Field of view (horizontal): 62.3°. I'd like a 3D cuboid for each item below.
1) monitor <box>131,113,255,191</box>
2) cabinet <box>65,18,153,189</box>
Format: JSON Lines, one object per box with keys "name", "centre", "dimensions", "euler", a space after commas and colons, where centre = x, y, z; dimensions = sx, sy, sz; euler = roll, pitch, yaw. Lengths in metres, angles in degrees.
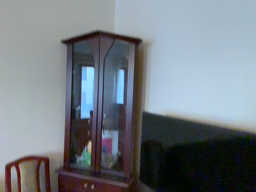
{"name": "monitor", "centre": [0.320, 0.470, 1.310], "dimensions": [0.050, 0.590, 1.030], "euler": [0, 3, -30]}
{"name": "cabinet", "centre": [-0.210, 0.050, 2.040], "dimensions": [0.550, 1.310, 0.650], "euler": [0, 4, -37]}
